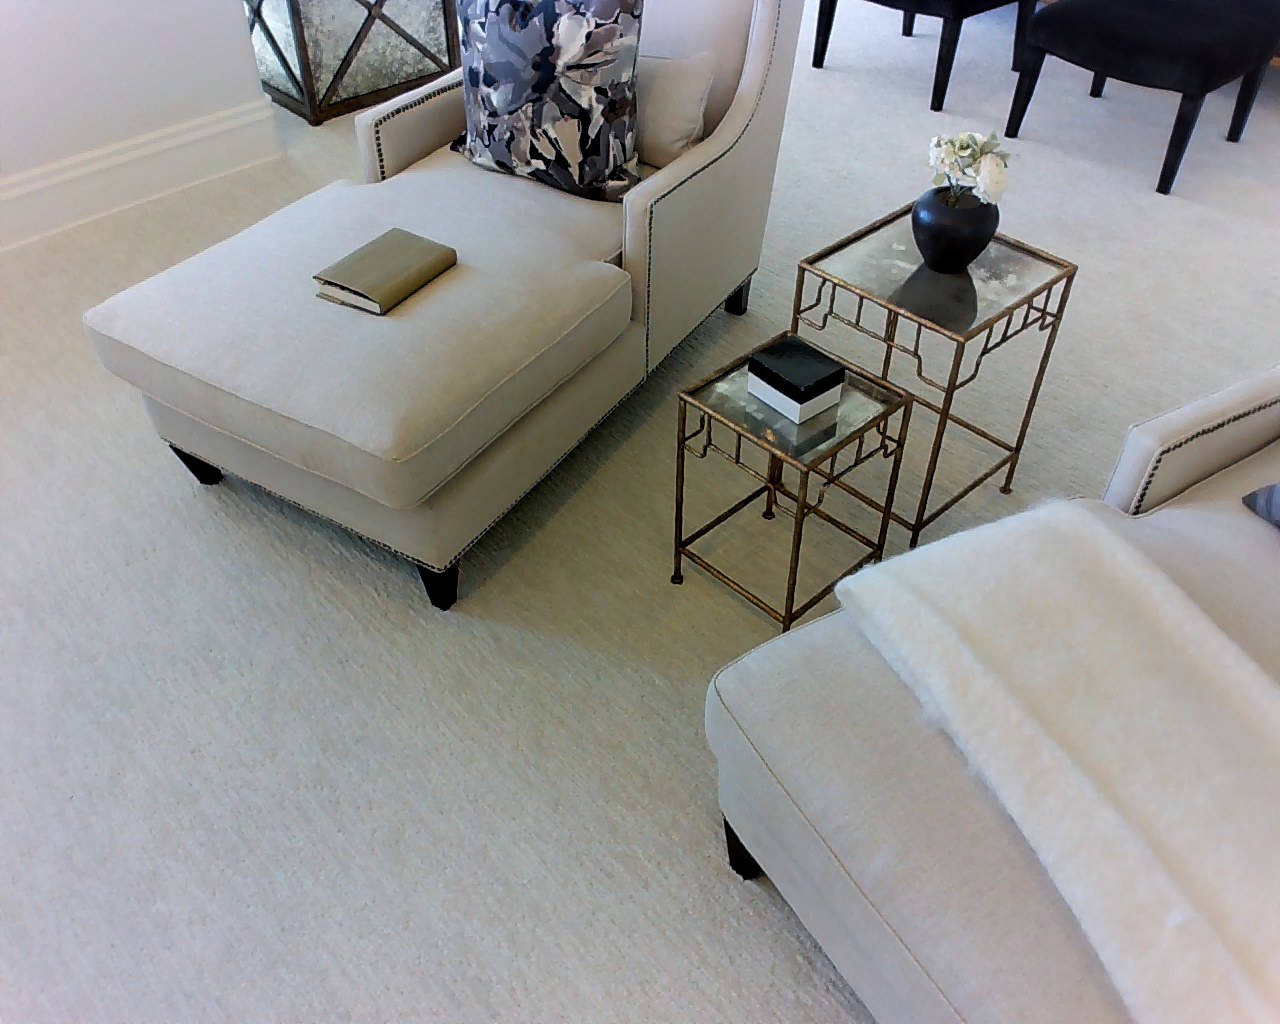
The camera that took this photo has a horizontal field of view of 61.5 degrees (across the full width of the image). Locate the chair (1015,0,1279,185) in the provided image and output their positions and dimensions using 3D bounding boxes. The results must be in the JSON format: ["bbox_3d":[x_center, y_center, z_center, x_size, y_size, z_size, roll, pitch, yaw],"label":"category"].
[{"bbox_3d":[1.810,-1.610,3.650,0.690,0.610,0.630,-32,52,-29],"label":"chair"}]
